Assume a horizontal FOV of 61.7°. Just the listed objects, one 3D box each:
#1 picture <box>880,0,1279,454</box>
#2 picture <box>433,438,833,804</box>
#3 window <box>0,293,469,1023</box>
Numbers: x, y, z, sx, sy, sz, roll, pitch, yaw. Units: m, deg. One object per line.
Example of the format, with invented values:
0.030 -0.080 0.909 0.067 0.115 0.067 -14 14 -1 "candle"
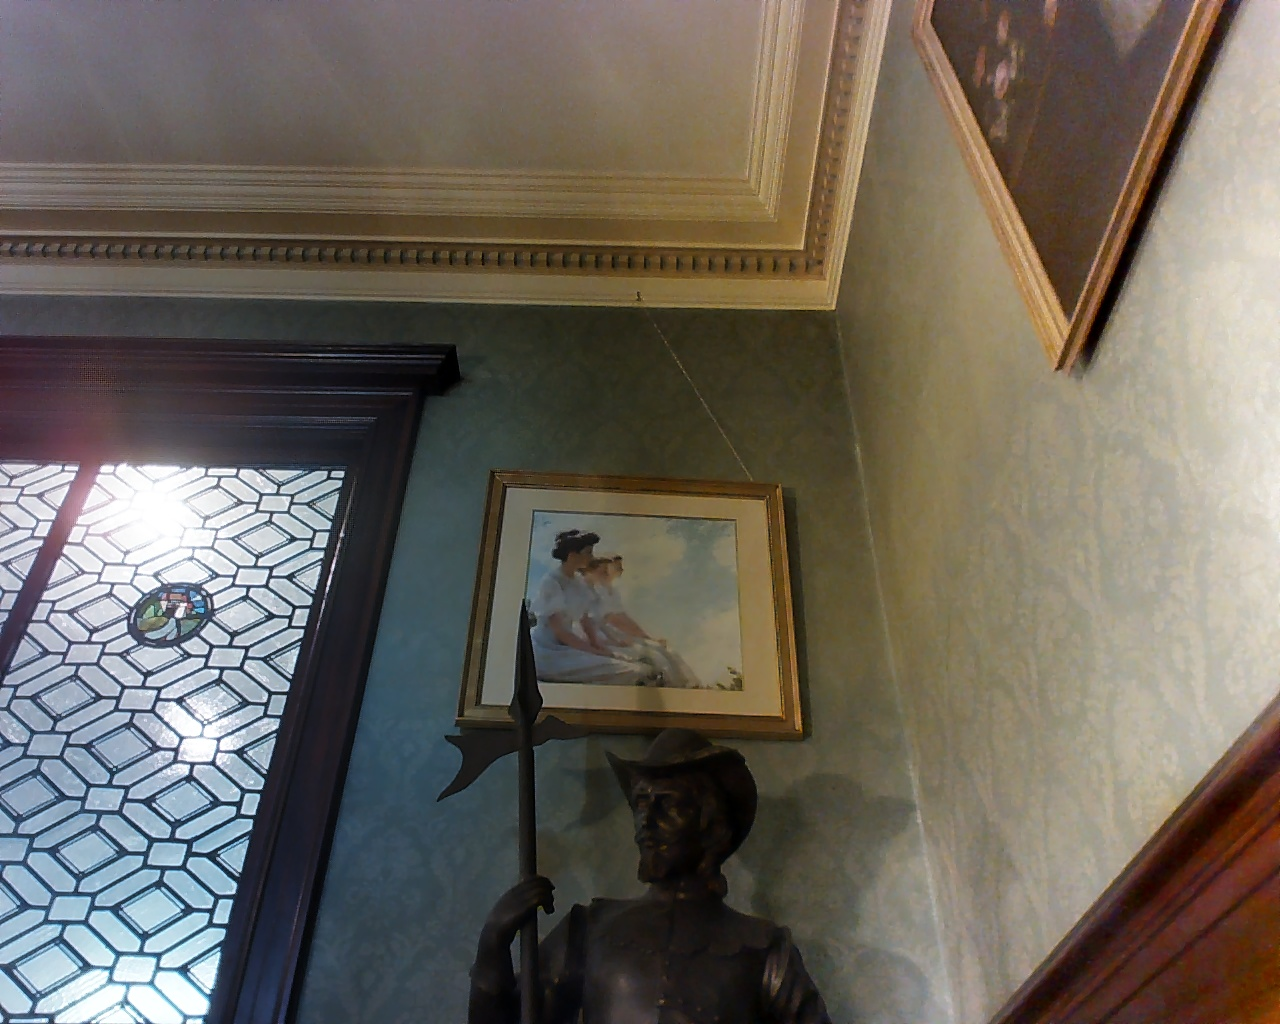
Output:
0.630 -0.940 1.640 0.170 1.320 1.080 0 -41 1 "picture"
-0.010 0.240 2.890 0.930 1.100 0.100 2 -41 -1 "picture"
-2.120 0.230 2.890 3.020 2.250 0.290 2 -41 -1 "window"
